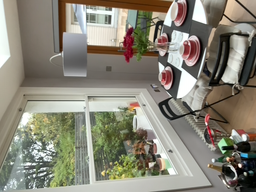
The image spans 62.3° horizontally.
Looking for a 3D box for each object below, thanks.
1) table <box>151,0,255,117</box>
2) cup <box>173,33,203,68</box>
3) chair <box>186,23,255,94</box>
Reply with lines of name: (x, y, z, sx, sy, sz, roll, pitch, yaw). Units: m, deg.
table: (0.850, -0.500, 2.320, 1.070, 0.750, 1.050, -117, 30, -62)
cup: (0.520, -0.410, 1.880, 0.270, 0.090, 0.250, -117, 30, -62)
chair: (0.990, -0.340, 1.870, 0.530, 0.680, 0.490, -120, 33, -65)
